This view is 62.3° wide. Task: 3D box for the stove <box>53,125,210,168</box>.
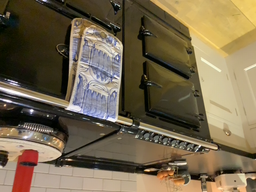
[{"bbox_3d":[0.000,0.340,1.260,0.630,0.030,0.690,20,147,-35],"label":"stove"}]
